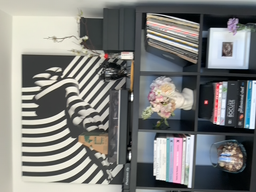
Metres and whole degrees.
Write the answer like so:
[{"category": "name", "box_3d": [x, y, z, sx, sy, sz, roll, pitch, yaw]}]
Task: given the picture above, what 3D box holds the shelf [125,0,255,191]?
[{"category": "shelf", "box_3d": [0.760, 0.230, 1.450, 0.420, 1.530, 1.560, -74, -14, -85]}]
